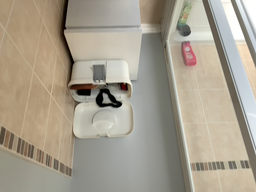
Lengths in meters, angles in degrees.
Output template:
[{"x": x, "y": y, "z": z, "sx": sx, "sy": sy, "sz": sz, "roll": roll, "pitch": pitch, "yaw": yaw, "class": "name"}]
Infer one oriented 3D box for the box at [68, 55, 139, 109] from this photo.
[{"x": -0.140, "y": -0.080, "z": 1.340, "sx": 0.390, "sy": 0.200, "sz": 0.310, "roll": -2, "pitch": 154, "yaw": -2, "class": "box"}]
